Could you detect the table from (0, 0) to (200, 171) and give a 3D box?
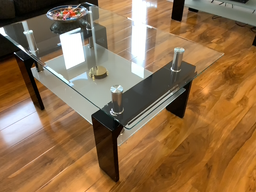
[{"bbox_3d":[-0.180,-0.160,1.150,0.870,0.420,0.530,33,51,32],"label":"table"}]

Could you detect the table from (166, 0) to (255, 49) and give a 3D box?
[{"bbox_3d":[0.850,-0.860,1.920,0.410,0.470,0.880,-32,51,-31],"label":"table"}]
